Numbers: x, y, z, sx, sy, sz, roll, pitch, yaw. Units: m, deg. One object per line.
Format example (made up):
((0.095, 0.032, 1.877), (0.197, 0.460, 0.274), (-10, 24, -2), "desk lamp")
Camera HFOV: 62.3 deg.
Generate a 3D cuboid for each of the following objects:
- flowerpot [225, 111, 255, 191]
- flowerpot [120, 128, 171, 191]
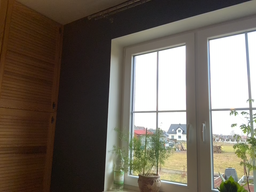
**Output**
((0.820, 0.470, 1.380), (0.290, 0.720, 0.310), (-3, -10, 31), "flowerpot")
((0.150, 0.550, 1.720), (0.330, 0.560, 0.230), (-4, -11, 34), "flowerpot")
